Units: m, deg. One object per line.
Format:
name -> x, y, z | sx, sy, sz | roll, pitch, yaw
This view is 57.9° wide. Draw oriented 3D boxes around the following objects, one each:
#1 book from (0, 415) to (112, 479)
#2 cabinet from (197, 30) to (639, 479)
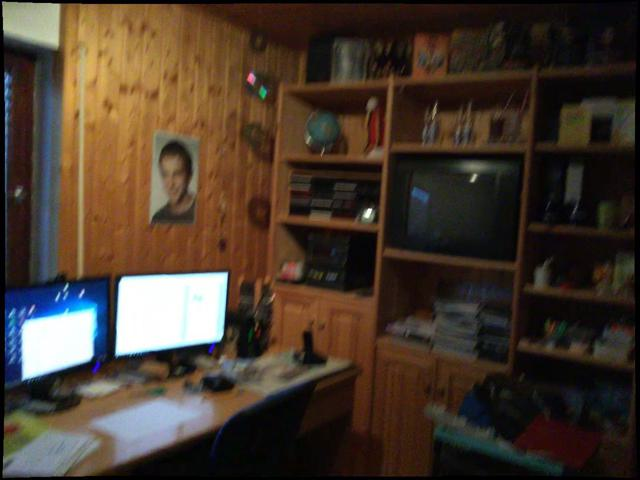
book -> -0.719, 0.551, 1.490 | 0.250, 0.060, 0.250 | 0, 13, 10
cabinet -> 0.549, 0.210, 2.860 | 1.949, 2.112, 0.960 | 5, 15, 31
